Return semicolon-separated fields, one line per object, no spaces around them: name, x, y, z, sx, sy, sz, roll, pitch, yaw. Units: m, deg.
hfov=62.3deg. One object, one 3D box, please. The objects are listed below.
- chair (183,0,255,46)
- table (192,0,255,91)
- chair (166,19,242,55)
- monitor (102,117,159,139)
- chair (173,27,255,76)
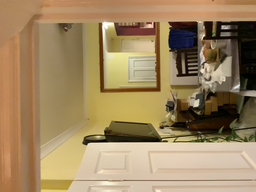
chair;1.140;-0.760;2.150;0.560;1.010;0.470;-90;0;-78
table;1.260;-0.970;2.410;0.960;0.770;1.810;-87;-4;-89
chair;1.150;-0.900;3.330;0.560;0.990;0.430;-89;-1;-88
monitor;0.030;0.320;2.270;0.770;0.500;0.050;-46;-51;-88
chair;1.150;-0.560;2.760;0.560;0.990;0.390;89;180;-73
